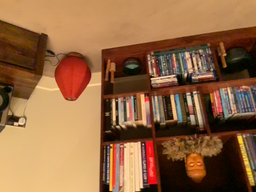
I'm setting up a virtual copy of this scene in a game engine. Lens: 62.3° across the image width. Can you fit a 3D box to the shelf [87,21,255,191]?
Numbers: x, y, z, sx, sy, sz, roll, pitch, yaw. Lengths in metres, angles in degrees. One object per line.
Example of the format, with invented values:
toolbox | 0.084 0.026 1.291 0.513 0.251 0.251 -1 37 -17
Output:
shelf | 0.400 0.440 1.410 1.260 1.850 0.370 -7 155 8
